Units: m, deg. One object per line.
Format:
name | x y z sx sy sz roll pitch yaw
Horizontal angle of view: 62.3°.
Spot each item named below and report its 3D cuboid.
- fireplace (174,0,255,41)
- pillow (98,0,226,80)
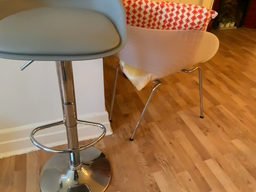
fireplace | 1.470 -1.450 2.790 1.440 0.490 1.190 -10 129 -16
pillow | 0.120 -0.320 1.080 0.460 0.480 0.180 31 77 -10
